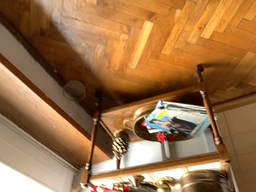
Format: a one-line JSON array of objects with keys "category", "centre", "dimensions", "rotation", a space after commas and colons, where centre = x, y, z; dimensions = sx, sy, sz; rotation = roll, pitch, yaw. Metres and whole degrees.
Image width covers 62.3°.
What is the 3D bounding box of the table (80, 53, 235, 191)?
[{"category": "table", "centre": [0.150, 0.180, 1.250], "dimensions": [0.660, 0.690, 0.350], "rotation": [-16, 132, 15]}]
